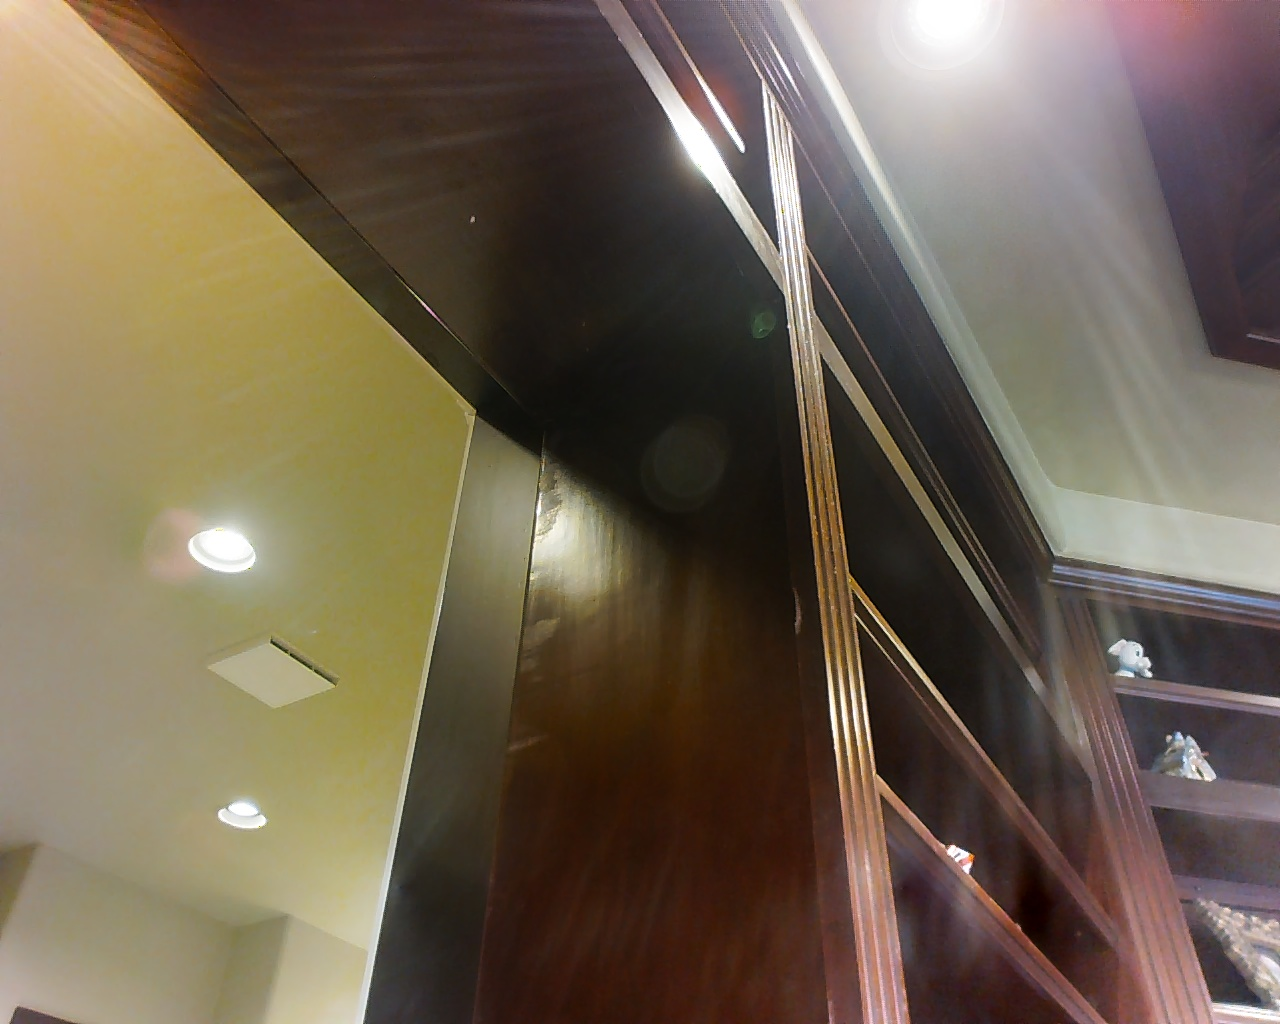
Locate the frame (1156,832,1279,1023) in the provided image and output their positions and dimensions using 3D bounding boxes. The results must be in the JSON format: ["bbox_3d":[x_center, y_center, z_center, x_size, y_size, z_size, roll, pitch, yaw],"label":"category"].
[{"bbox_3d":[1.100,0.730,1.850,0.250,0.260,0.200,7,-42,-6],"label":"frame"}]
